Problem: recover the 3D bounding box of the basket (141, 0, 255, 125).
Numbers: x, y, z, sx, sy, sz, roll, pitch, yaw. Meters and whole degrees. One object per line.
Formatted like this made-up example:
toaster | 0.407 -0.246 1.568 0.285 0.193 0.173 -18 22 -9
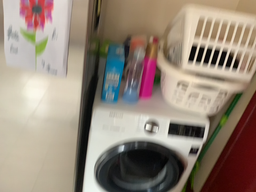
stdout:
basket | 0.380 -0.210 1.120 0.430 0.480 0.520 4 31 -13
